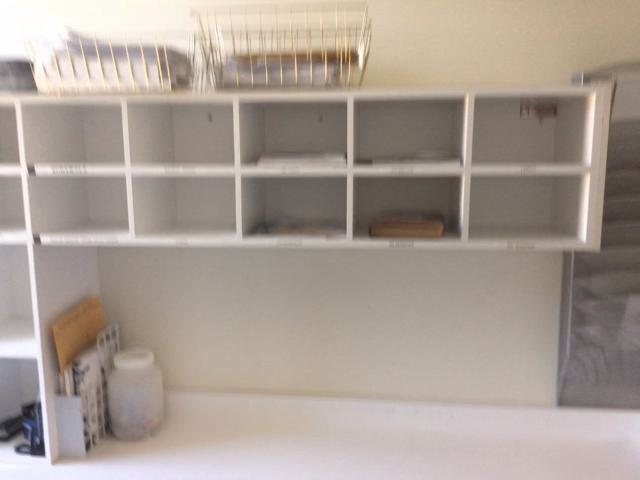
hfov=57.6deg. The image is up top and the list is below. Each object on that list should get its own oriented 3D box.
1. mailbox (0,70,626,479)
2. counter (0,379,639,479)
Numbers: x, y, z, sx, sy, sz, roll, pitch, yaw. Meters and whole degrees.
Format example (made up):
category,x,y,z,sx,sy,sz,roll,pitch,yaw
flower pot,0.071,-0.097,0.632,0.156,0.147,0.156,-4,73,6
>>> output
category,x,y,z,sx,sy,sz,roll,pitch,yaw
mailbox,-0.330,0.100,1.590,1.980,1.020,0.480,1,7,3
counter,-0.200,0.610,1.470,2.340,0.220,0.710,1,7,3
